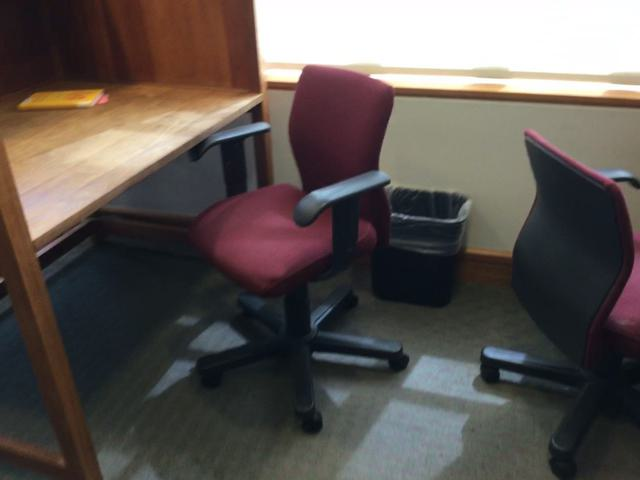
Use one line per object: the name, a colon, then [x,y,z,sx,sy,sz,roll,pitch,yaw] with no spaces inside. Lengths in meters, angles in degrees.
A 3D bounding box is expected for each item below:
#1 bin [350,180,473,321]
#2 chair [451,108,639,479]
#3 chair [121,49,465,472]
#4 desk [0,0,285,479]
bin: [0.340,0.030,2.160,0.380,0.390,0.270,9,30,14]
chair: [0.800,0.140,1.520,0.610,0.800,0.630,-3,30,-8]
chair: [-0.090,0.000,1.710,0.580,0.920,0.680,-24,38,-37]
desk: [-0.800,-0.270,1.740,0.990,1.380,1.310,9,30,14]
